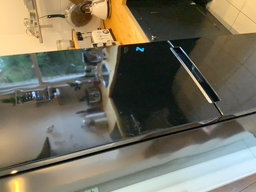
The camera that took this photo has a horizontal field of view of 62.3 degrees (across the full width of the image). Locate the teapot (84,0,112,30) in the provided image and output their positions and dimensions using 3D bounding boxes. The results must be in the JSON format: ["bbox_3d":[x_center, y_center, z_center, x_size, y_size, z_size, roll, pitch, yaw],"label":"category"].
[{"bbox_3d":[-0.290,-0.810,2.010,0.250,0.200,0.250,100,153,-44],"label":"teapot"}]
